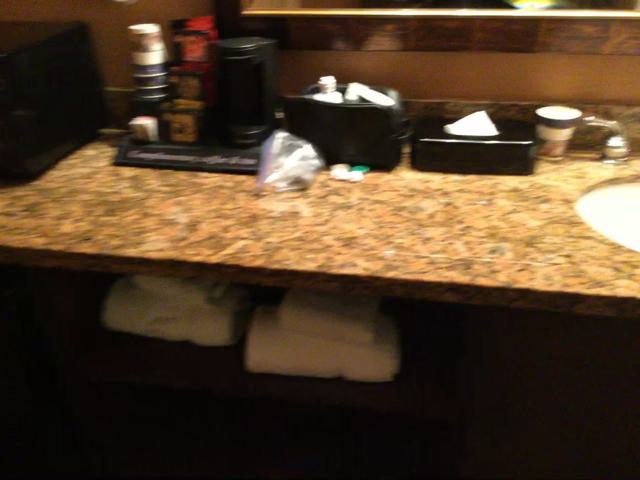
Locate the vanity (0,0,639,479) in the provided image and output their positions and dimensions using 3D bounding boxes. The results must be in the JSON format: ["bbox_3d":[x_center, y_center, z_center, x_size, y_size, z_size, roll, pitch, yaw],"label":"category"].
[{"bbox_3d":[0.000,0.130,1.280,2.160,1.110,0.620,2,33,10],"label":"vanity"}]

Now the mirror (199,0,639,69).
[{"bbox_3d":[0.400,-0.540,1.090,1.320,0.390,0.070,2,33,10],"label":"mirror"}]

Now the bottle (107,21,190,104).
[{"bbox_3d":[-0.380,-0.400,1.300,0.110,0.150,0.120,2,33,10],"label":"bottle"}]
